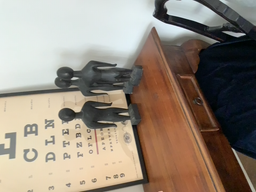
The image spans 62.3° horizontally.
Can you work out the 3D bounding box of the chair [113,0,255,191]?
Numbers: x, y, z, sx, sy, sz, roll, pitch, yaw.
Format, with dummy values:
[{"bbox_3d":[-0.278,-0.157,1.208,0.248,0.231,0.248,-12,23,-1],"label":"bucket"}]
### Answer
[{"bbox_3d":[0.470,-0.050,0.860,0.530,0.890,0.560,-151,64,-63],"label":"chair"}]
